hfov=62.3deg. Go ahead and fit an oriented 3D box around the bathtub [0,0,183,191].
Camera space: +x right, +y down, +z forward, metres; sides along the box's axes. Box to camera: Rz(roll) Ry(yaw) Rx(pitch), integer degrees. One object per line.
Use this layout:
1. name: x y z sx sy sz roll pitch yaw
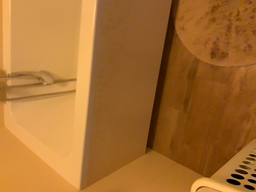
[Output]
1. bathtub: -0.220 -0.540 1.100 0.830 0.550 1.650 20 109 36
